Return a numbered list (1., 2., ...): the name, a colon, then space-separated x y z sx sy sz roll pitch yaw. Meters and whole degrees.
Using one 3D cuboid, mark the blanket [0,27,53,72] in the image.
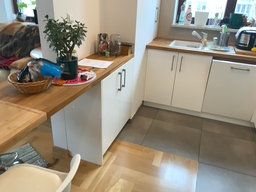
1. blanket: -1.910 -0.790 3.410 1.440 0.560 0.190 11 27 16
